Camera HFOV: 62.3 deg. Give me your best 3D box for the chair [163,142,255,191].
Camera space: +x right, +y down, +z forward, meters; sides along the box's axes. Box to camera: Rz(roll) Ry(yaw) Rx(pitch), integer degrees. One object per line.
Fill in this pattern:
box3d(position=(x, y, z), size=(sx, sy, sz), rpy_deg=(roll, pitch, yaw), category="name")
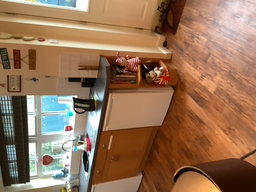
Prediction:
box3d(position=(0.710, 0.540, 1.320), size=(0.560, 0.760, 0.390), rpy_deg=(159, 108, -65), category="chair")
